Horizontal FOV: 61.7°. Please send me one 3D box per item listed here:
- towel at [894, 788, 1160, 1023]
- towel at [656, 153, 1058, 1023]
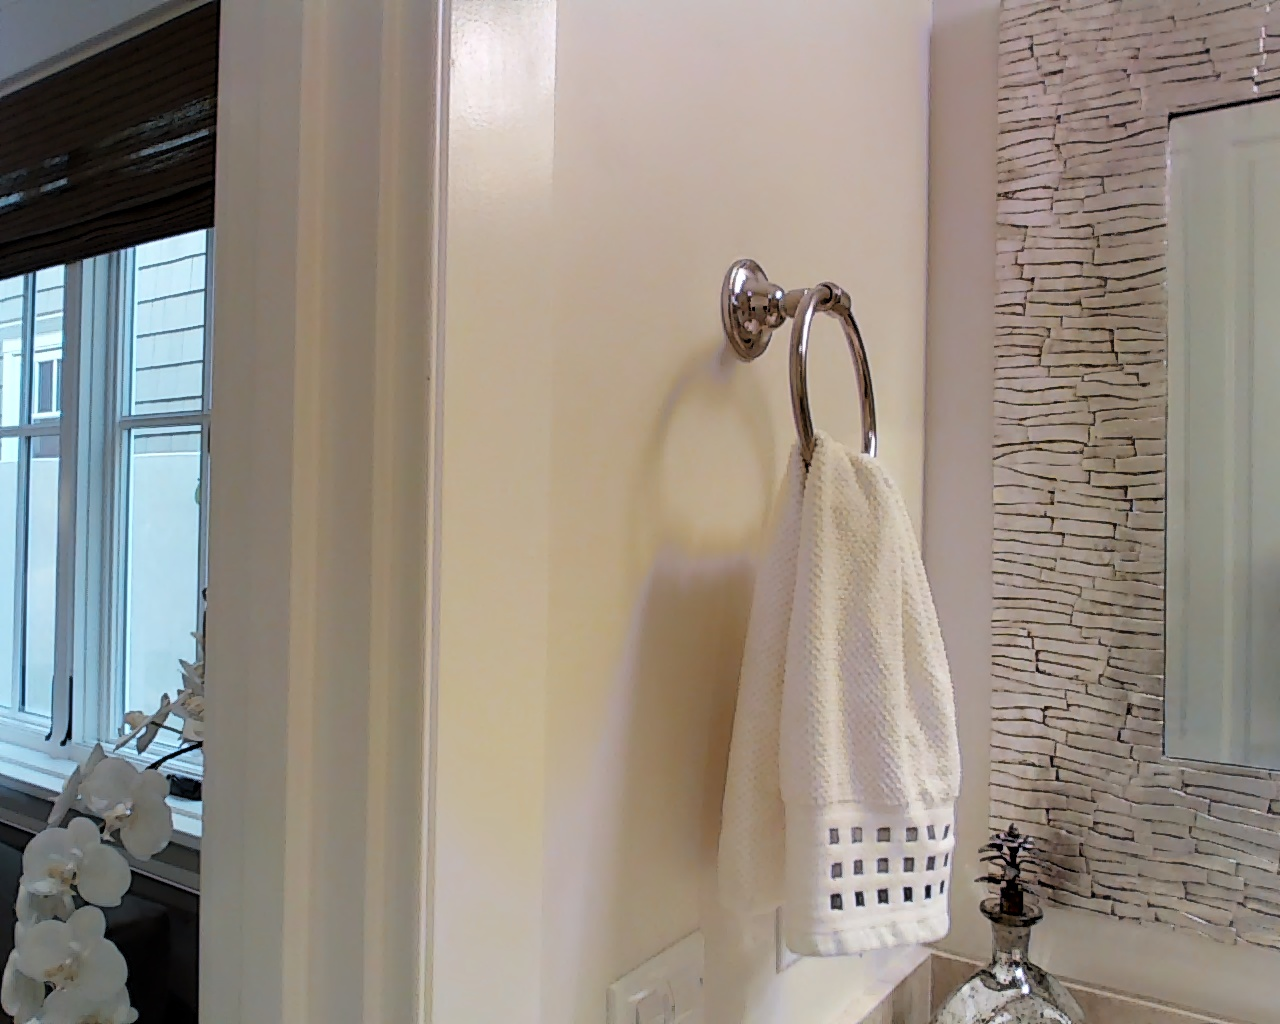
[{"bbox_3d":[0.360,0.440,1.020,0.180,0.310,0.160,1,-1,-9],"label":"towel"},{"bbox_3d":[0.170,0.080,0.780,0.180,0.570,0.280,1,-1,36],"label":"towel"}]
